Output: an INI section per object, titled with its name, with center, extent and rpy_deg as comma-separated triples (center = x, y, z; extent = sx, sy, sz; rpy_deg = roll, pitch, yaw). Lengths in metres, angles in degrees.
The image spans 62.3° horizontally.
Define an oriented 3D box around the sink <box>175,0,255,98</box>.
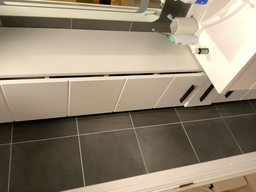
[sink]
center = 0.470, -0.410, 0.820
extent = 0.770, 0.120, 0.450
rpy_deg = 110, 149, -49
